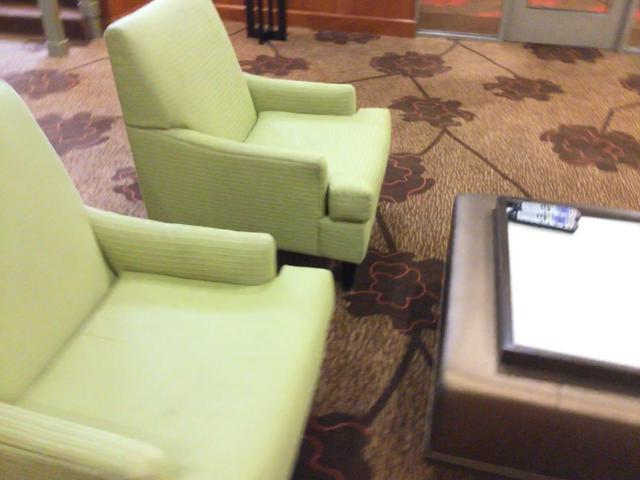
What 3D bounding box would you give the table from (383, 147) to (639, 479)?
[{"bbox_3d":[0.760,0.250,1.620,0.920,0.490,0.930,15,36,11],"label":"table"}]
